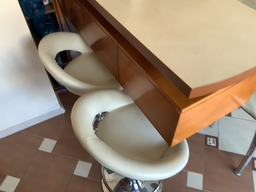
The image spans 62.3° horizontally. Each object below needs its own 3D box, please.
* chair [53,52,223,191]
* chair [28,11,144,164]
[{"bbox_3d":[0.010,0.310,1.150,0.460,0.820,0.530,-24,53,-19],"label":"chair"},{"bbox_3d":[-0.250,-0.030,1.460,0.460,0.800,0.530,-24,53,-19],"label":"chair"}]
